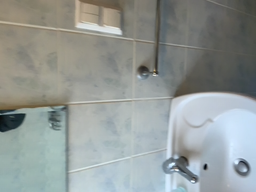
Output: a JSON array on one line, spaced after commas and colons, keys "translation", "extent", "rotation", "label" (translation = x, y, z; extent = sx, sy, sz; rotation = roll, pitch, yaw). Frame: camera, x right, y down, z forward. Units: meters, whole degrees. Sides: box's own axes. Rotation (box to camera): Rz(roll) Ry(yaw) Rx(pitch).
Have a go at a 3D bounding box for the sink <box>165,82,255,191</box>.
[{"translation": [0.360, 0.250, 0.750], "extent": [0.450, 0.170, 0.580], "rotation": [9, 100, 54], "label": "sink"}]
